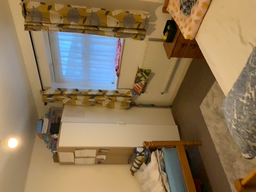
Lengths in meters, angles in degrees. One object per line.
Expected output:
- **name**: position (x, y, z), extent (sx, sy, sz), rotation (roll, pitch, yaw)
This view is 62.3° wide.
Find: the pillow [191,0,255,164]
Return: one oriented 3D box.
- **pillow**: position (0.630, -0.060, 1.030), extent (0.730, 0.270, 0.460), rotation (102, 165, -45)
